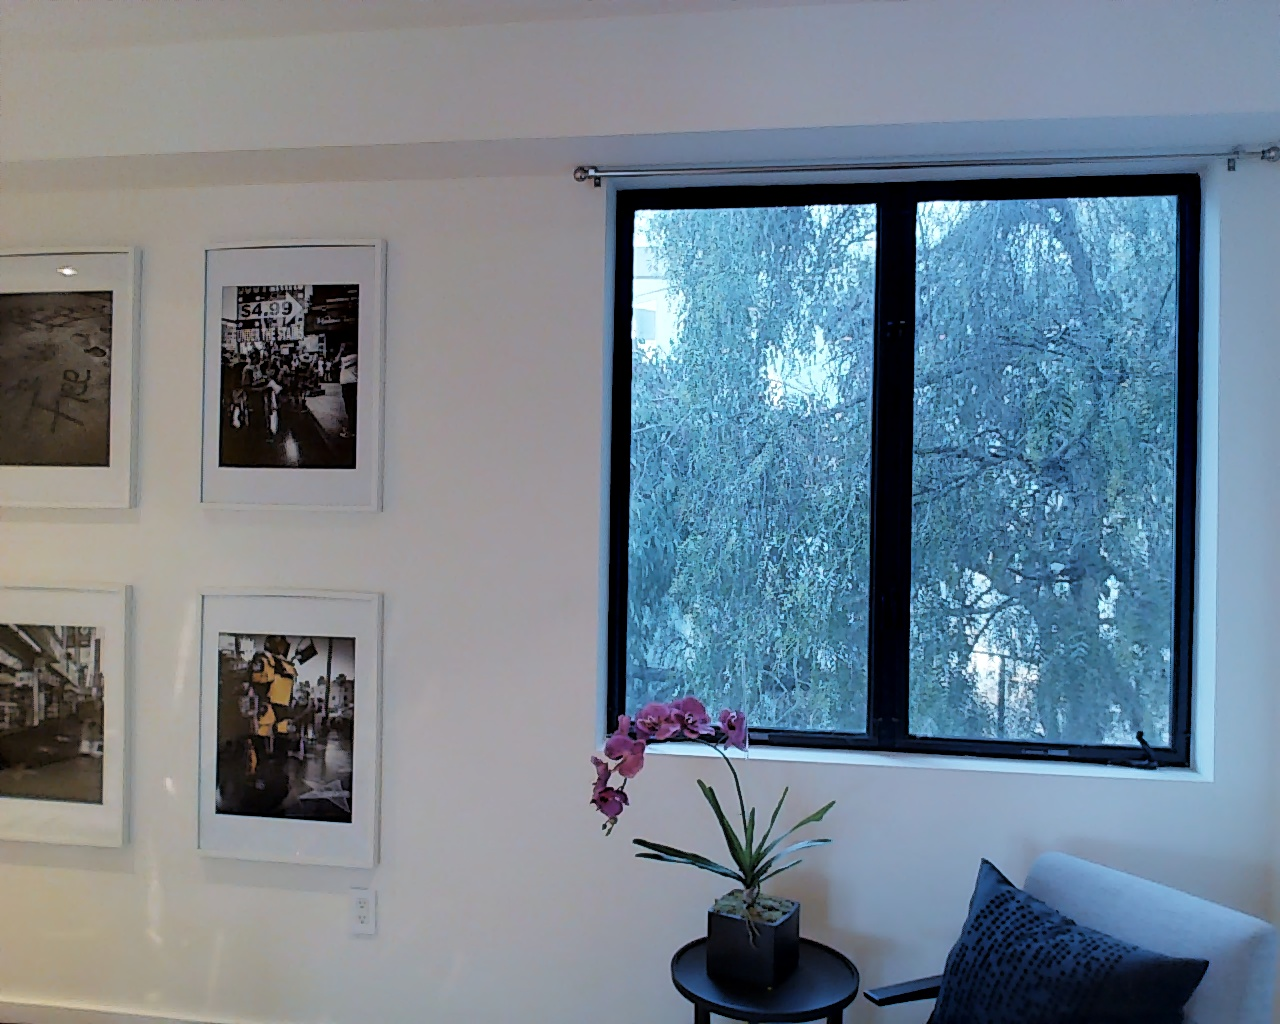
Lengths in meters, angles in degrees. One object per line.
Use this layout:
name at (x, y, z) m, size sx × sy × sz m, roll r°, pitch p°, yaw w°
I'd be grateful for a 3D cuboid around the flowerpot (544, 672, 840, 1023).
flowerpot at (0.100, 0.750, 2.400) m, size 0.480 × 0.690 × 0.490 m, roll 1°, pitch 0°, yaw -25°
